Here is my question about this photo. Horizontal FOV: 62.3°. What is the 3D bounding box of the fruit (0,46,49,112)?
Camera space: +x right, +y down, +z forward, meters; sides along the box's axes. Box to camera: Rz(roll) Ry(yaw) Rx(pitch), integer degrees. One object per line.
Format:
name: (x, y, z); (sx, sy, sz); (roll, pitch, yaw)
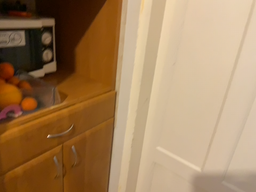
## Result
fruit: (-0.430, -0.060, 0.700); (0.200, 0.140, 0.240); (23, 29, 31)
